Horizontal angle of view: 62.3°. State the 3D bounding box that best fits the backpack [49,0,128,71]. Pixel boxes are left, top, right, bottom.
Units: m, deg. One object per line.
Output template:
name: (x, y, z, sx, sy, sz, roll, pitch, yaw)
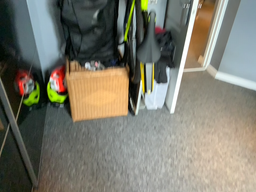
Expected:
backpack: (-0.310, -0.620, 1.750, 0.560, 0.760, 0.300, -3, 37, -9)
